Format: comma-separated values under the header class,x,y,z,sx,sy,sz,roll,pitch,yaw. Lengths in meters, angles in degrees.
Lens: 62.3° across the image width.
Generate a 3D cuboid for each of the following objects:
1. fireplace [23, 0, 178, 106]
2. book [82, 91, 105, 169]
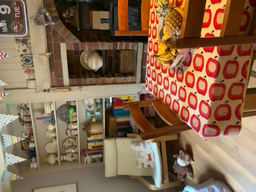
class,x,y,z,sx,sy,sz,roll,pitch,yaw
fireplace,-0.350,-1.050,2.890,0.790,1.810,2.130,-131,41,-66
book,-0.580,0.570,3.580,0.270,0.330,1.270,-137,46,-68
